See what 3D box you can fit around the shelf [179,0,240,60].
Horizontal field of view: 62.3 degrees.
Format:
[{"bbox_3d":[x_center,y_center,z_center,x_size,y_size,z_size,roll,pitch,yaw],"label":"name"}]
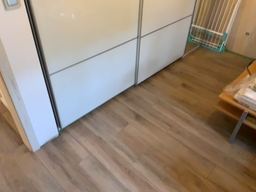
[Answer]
[{"bbox_3d":[1.190,-1.260,3.030,0.270,1.340,0.600,-31,50,-34],"label":"shelf"}]
